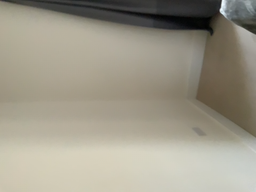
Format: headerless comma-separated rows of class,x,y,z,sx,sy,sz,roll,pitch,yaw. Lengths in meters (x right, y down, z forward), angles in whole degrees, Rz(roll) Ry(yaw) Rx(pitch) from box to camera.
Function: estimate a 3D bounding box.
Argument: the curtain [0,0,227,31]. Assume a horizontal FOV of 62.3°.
curtain,-0.160,-0.990,2.210,0.270,2.490,0.460,-124,35,-68
